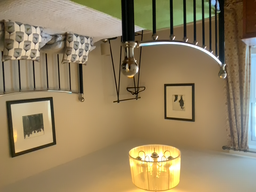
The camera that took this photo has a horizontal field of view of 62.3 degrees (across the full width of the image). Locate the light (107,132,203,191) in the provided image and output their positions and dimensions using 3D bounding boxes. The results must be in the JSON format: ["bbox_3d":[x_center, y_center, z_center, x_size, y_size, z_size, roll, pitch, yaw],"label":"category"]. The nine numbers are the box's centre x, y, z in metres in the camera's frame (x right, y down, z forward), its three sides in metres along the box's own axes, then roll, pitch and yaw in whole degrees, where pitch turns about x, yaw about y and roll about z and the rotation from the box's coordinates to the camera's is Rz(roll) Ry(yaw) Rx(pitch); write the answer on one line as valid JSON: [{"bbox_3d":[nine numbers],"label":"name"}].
[{"bbox_3d":[0.290,0.750,2.110,0.580,0.670,0.510,-24,81,32],"label":"light"}]
